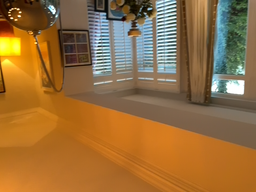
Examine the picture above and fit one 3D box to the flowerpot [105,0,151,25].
[{"bbox_3d":[0.000,-1.140,2.350,0.480,0.620,0.230,-14,-164,-40],"label":"flowerpot"}]
